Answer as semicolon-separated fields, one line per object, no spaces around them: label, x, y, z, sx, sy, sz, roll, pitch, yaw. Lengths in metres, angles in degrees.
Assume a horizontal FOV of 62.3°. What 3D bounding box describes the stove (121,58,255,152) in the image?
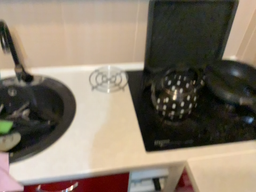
stove;0.310;-0.010;1.040;0.610;0.030;0.550;-4;44;-10
